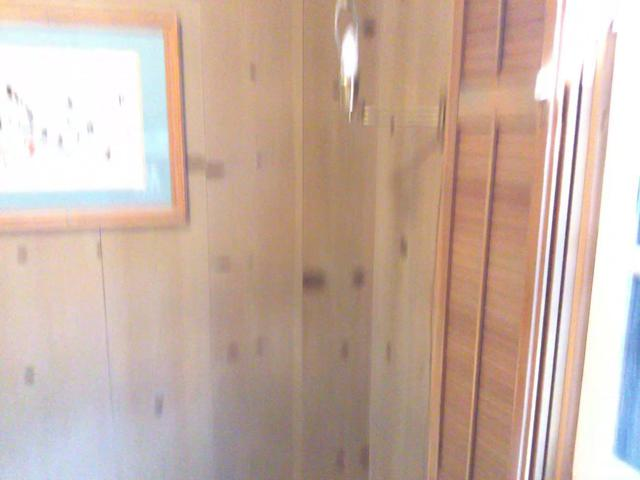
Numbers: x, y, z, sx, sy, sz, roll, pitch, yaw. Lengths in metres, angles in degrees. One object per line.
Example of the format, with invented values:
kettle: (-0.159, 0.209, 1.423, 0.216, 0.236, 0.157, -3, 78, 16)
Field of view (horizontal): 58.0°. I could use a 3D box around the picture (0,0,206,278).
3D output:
picture: (-0.540, -0.270, 1.460, 0.490, 0.720, 0.050, -1, 9, -17)
